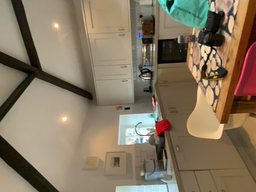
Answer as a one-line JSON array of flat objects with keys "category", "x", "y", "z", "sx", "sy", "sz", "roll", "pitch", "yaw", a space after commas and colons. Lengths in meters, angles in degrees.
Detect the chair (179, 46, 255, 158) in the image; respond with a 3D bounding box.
[{"category": "chair", "x": 0.910, "y": 0.020, "z": 1.750, "sx": 0.640, "sy": 0.790, "sz": 0.650, "roll": -92, "pitch": -1, "yaw": -59}]
